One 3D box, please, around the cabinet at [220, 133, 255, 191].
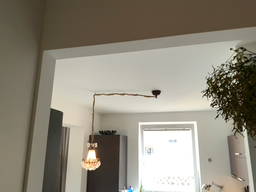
[{"bbox_3d":[1.700,0.920,3.060,0.340,0.660,1.690,-3,-14,13],"label":"cabinet"}]
